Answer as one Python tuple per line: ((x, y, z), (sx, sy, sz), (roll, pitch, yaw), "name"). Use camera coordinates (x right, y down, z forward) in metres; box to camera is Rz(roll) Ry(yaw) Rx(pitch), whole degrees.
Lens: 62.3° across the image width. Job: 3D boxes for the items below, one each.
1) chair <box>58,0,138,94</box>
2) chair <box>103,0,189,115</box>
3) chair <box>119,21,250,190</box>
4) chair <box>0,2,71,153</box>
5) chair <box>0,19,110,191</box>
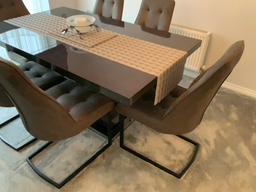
((-0.310, -0.630, 2.370), (0.580, 0.930, 0.550), (25, 41, 27), "chair")
((0.150, -0.420, 2.110), (0.510, 0.930, 0.590), (25, 41, 27), "chair")
((0.320, 0.060, 1.470), (0.570, 0.920, 0.470), (24, 41, 26), "chair")
((-0.870, -0.150, 1.660), (0.460, 0.940, 0.560), (26, 41, 28), "chair")
((-0.480, 0.070, 1.390), (0.470, 0.920, 0.560), (26, 41, 28), "chair")
